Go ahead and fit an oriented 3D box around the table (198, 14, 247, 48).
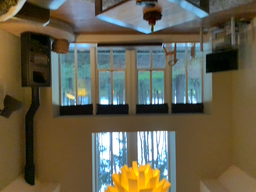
[{"bbox_3d":[1.970,-1.330,4.460,0.480,0.450,0.810,-2,-178,-34],"label":"table"}]
